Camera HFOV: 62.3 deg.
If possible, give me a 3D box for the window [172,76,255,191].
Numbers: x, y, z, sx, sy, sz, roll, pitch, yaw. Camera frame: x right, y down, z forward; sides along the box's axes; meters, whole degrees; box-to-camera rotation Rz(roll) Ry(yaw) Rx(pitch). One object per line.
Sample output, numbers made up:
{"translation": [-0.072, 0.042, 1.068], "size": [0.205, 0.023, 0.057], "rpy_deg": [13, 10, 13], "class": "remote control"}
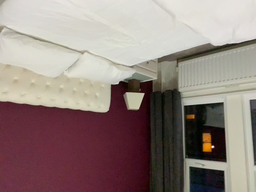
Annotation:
{"translation": [1.420, 0.770, 2.700], "size": [1.740, 1.950, 0.340], "rpy_deg": [-8, 167, 42], "class": "window"}
